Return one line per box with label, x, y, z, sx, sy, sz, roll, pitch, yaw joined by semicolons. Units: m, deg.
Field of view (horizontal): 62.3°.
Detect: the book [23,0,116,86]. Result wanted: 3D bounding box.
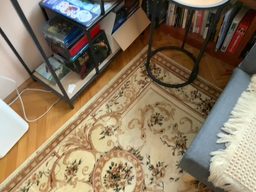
book;-0.310;-0.360;1.260;0.360;0.440;0.260;36;68;19
